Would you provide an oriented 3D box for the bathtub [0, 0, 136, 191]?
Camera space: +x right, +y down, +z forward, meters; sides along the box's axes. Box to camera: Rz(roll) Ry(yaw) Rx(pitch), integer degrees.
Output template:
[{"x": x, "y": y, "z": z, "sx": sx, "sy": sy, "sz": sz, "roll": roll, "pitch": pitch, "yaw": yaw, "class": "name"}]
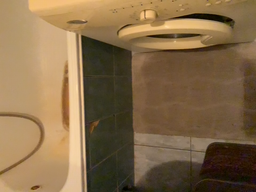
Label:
[{"x": -0.400, "y": -0.060, "z": 1.210, "sx": 0.690, "sy": 0.560, "sz": 1.460, "roll": -1, "pitch": 94, "yaw": 23, "class": "bathtub"}]
